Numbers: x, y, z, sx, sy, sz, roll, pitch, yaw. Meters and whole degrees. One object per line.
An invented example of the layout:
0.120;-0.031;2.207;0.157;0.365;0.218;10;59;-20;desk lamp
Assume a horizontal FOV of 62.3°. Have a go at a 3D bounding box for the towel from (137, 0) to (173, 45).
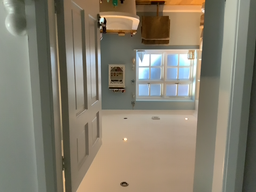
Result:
0.550;-1.540;4.490;0.690;0.870;0.310;0;-170;0;towel
